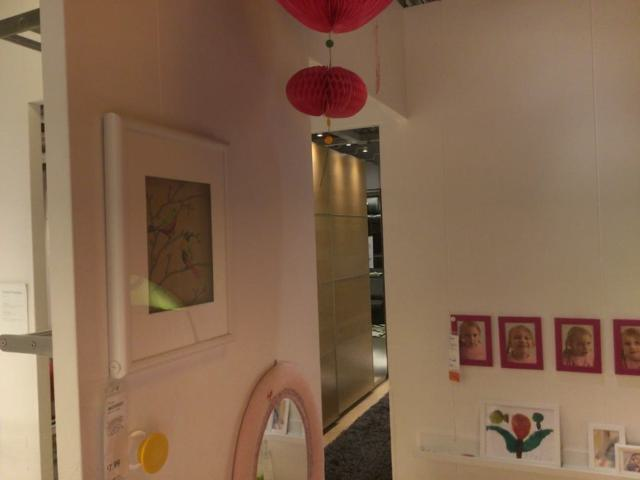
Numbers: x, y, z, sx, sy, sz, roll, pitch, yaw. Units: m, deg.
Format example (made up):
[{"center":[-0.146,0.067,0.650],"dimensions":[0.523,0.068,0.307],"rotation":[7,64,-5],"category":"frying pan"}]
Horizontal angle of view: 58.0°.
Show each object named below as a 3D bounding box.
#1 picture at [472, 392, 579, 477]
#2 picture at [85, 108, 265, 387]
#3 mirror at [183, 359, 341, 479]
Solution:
[{"center":[0.790,0.740,2.230],"dimensions":[0.360,0.250,0.110],"rotation":[-4,-1,32],"category":"picture"},{"center":[-0.250,0.010,1.090],"dimensions":[0.060,0.440,0.380],"rotation":[-4,-1,30],"category":"picture"},{"center":[-0.100,0.590,1.350],"dimensions":[0.050,0.520,0.530],"rotation":[-4,-1,30],"category":"mirror"}]
